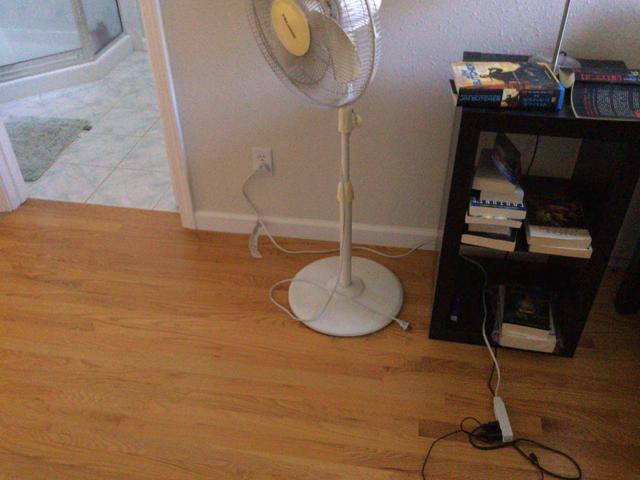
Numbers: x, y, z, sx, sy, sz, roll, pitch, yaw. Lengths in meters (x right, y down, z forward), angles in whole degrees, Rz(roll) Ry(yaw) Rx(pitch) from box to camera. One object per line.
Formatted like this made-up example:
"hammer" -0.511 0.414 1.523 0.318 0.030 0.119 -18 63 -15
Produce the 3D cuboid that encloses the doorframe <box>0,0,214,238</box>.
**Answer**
"doorframe" -0.920 -0.900 1.840 0.890 1.890 0.260 6 36 10

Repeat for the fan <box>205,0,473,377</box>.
"fan" 0.060 -0.260 1.660 0.470 1.170 0.470 25 43 33
